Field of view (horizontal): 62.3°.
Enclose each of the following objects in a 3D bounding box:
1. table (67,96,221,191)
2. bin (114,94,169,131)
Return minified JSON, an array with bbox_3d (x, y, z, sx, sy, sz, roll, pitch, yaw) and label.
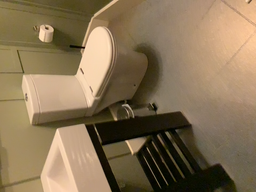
[{"bbox_3d":[0.080,0.360,1.350,0.530,0.710,0.420,58,135,32],"label":"table"},{"bbox_3d":[0.100,0.120,1.620,0.170,0.340,0.180,59,136,31],"label":"bin"}]
